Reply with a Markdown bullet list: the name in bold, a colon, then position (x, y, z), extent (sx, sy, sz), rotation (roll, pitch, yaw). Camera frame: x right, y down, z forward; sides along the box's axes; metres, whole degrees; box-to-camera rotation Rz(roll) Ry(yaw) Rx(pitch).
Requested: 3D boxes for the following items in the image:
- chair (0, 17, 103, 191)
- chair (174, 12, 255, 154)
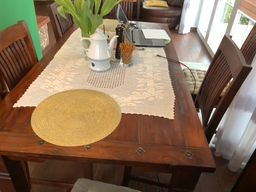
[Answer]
- **chair**: position (-0.440, 0.110, 1.310), extent (0.490, 1.000, 0.480), rotation (6, 34, 2)
- **chair**: position (0.770, -0.080, 1.740), extent (0.530, 1.000, 0.490), rotation (6, 35, 1)
